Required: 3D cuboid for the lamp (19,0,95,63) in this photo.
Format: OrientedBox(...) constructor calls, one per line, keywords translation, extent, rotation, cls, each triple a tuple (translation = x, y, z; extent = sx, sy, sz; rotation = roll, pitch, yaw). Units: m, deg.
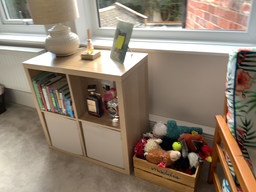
OrientedBox(translation=(-0.490, -0.520, 1.520), extent=(0.330, 0.450, 0.300), rotation=(11, 32, 26), cls="lamp")
